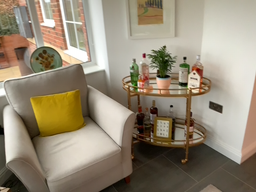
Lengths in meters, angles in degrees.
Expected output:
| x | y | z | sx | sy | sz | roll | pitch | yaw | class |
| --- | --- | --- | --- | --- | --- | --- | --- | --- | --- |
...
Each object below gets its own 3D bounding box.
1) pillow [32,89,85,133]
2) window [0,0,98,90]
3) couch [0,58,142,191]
| x | y | z | sx | sy | sz | roll | pitch | yaw | class |
| --- | --- | --- | --- | --- | --- | --- | --- | --- | --- |
| -0.630 | 0.140 | 1.910 | 0.360 | 0.320 | 0.210 | 4 | 36 | -34 | pillow |
| -0.900 | -0.670 | 2.180 | 1.110 | 1.020 | 0.100 | -17 | 27 | -26 | window |
| -0.550 | 0.290 | 1.870 | 0.890 | 0.910 | 1.040 | -17 | 28 | -27 | couch |
